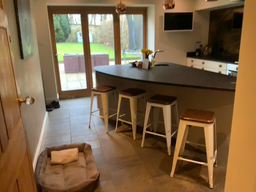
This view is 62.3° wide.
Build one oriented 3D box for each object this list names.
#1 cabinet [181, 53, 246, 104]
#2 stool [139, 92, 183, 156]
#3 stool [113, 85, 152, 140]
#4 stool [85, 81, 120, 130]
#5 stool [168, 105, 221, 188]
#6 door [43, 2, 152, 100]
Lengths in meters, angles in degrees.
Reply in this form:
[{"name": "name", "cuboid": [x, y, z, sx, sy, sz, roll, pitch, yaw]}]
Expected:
[{"name": "cabinet", "cuboid": [1.940, -0.490, 5.080, 0.590, 0.900, 1.420, -6, 18, -18]}, {"name": "stool", "cuboid": [0.430, 0.340, 2.810, 0.420, 0.660, 0.430, 10, 20, 31]}, {"name": "stool", "cuboid": [0.080, 0.230, 3.200, 0.410, 0.660, 0.410, 12, 21, 36]}, {"name": "stool", "cuboid": [-0.410, 0.140, 3.510, 0.410, 0.660, 0.370, 11, 20, 35]}, {"name": "stool", "cuboid": [0.700, 0.500, 2.250, 0.410, 0.670, 0.430, 8, 19, 28]}, {"name": "door", "cuboid": [-0.650, -1.120, 5.340, 2.490, 2.230, 0.370, -5, 17, -13]}]
